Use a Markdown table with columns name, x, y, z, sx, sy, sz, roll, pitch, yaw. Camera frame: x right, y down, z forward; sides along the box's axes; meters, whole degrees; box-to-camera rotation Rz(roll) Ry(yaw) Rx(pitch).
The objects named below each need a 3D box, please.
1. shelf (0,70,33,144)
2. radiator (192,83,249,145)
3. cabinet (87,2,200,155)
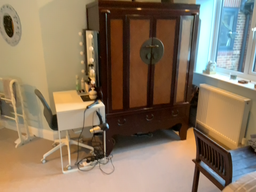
| name | x | y | z | sx | sy | sz | roll | pitch | yaw |
| --- | --- | --- | --- | --- | --- | --- | --- | --- | --- |
| shelf | -1.820 | 0.120 | 3.030 | 0.780 | 0.910 | 0.300 | 10 | 21 | 27 |
| radiator | 1.200 | 0.200 | 2.880 | 0.140 | 0.580 | 0.800 | -7 | 20 | -20 |
| cabinet | 0.150 | -0.270 | 2.910 | 1.200 | 1.770 | 0.750 | -7 | 19 | -19 |
